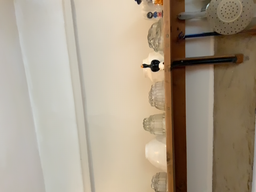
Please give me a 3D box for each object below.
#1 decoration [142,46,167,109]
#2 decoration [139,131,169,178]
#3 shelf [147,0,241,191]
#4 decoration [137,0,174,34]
[{"bbox_3d":[0.130,-0.090,1.010,0.130,0.090,0.280,-44,-49,-71],"label":"decoration"},{"bbox_3d":[0.140,0.300,1.110,0.120,0.130,0.200,-48,-45,-70],"label":"decoration"},{"bbox_3d":[0.320,0.520,1.060,0.370,0.290,2.200,-44,-49,-71],"label":"shelf"},{"bbox_3d":[0.130,-0.430,0.950,0.210,0.140,0.250,-28,-64,-74],"label":"decoration"}]
